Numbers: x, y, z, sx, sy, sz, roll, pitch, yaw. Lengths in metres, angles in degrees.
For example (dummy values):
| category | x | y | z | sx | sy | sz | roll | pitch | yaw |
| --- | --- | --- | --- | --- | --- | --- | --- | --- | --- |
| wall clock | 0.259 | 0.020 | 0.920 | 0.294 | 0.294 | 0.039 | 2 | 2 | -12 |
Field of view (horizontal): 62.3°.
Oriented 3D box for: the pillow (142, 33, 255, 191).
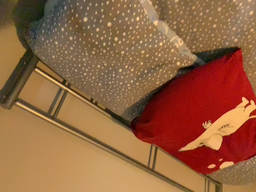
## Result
| category | x | y | z | sx | sy | sz | roll | pitch | yaw |
| --- | --- | --- | --- | --- | --- | --- | --- | --- | --- |
| pillow | 0.330 | 0.120 | 0.860 | 0.210 | 0.420 | 0.660 | -28 | 93 | 13 |

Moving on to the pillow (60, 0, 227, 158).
| category | x | y | z | sx | sy | sz | roll | pitch | yaw |
| --- | --- | --- | --- | --- | --- | --- | --- | --- | --- |
| pillow | 0.020 | -0.110 | 0.680 | 0.180 | 0.470 | 0.510 | -29 | 79 | 3 |
